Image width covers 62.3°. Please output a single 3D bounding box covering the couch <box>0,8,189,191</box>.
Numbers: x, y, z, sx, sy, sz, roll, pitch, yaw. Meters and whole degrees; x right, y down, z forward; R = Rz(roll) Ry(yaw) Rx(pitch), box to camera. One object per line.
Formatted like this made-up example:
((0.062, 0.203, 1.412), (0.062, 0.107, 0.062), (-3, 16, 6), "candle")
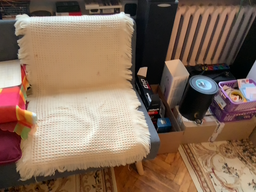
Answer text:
((-0.780, 0.060, 1.140), (1.830, 0.730, 0.820), (-6, 44, -14), "couch")
